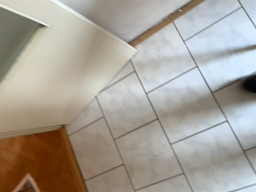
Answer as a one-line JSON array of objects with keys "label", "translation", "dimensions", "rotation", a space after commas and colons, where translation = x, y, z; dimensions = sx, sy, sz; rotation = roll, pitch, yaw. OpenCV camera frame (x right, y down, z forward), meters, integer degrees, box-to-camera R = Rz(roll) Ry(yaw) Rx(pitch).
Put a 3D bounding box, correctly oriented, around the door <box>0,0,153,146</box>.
[{"label": "door", "translation": [-0.570, -0.040, 0.600], "dimensions": [0.790, 2.120, 0.110], "rotation": [-41, 74, 18]}]
